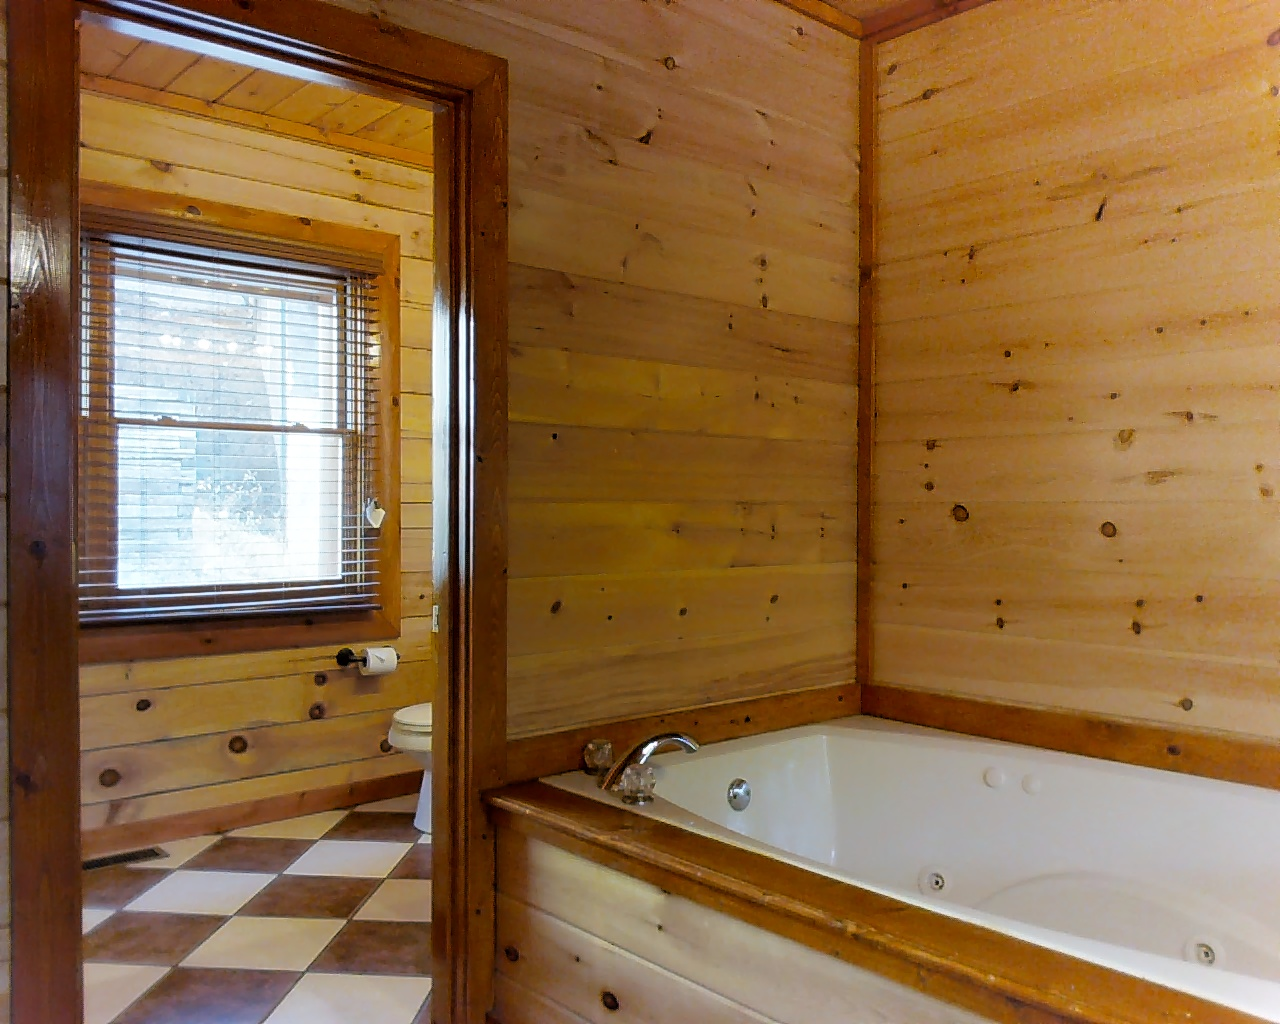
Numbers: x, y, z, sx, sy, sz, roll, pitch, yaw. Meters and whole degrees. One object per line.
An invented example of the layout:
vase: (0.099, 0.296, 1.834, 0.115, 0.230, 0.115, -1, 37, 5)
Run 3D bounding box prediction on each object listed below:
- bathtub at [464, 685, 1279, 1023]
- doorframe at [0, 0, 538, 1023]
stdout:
bathtub: (0.790, 0.840, 2.020, 1.410, 0.650, 1.910, 0, 0, -41)
doorframe: (-0.700, 0.050, 2.110, 1.070, 2.191, 0.220, 0, 0, -41)
